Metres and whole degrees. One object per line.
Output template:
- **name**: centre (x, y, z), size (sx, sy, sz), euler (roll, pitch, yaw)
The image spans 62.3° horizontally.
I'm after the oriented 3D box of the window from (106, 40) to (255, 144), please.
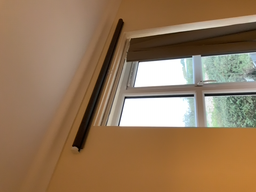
- **window**: centre (0.570, -0.090, 1.760), size (0.060, 1.330, 1.060), euler (71, -157, -43)
